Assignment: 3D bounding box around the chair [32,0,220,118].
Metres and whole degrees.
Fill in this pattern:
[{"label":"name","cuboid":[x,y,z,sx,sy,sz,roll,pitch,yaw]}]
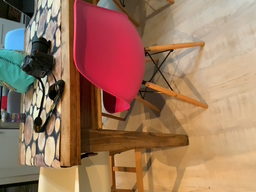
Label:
[{"label":"chair","cuboid":[0.000,-0.140,1.120,0.520,0.810,0.440,-17,72,50]}]
